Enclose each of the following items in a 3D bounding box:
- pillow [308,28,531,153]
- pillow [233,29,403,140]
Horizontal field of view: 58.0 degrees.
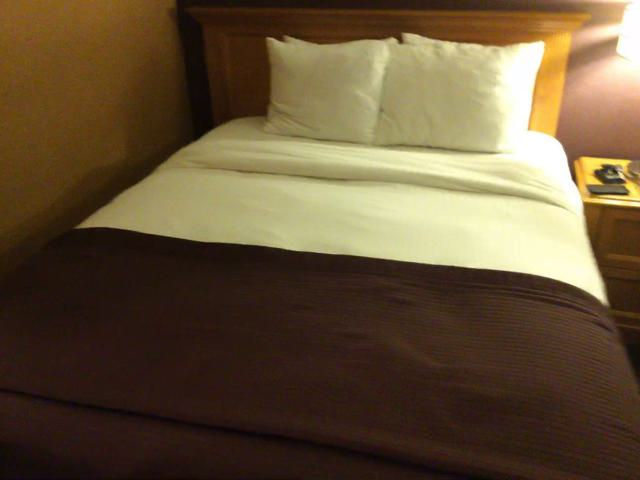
[{"bbox_3d":[0.390,-0.600,2.250,0.770,0.370,0.390,6,28,18],"label":"pillow"},{"bbox_3d":[0.010,-0.640,2.340,0.580,0.350,0.360,6,28,18],"label":"pillow"}]
